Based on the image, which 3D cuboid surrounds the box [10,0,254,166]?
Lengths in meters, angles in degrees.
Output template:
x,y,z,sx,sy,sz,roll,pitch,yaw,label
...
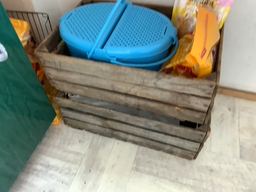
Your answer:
x,y,z,sx,sy,sz,roll,pitch,yaw,label
0.030,-0.090,0.850,0.650,0.550,0.350,14,52,13,box
